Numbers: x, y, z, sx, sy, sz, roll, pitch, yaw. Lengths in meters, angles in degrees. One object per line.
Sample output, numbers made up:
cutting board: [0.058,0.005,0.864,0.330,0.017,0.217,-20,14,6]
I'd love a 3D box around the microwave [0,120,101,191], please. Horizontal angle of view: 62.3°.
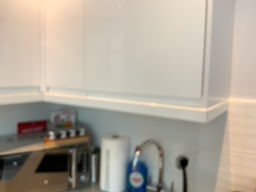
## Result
microwave: [-0.460,0.330,1.200,0.530,0.290,0.300,-2,5,-32]
